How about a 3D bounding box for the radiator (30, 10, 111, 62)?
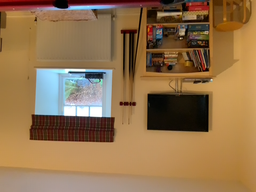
[{"bbox_3d":[-0.900,-0.920,3.300,1.250,0.760,0.100,1,178,6],"label":"radiator"}]
